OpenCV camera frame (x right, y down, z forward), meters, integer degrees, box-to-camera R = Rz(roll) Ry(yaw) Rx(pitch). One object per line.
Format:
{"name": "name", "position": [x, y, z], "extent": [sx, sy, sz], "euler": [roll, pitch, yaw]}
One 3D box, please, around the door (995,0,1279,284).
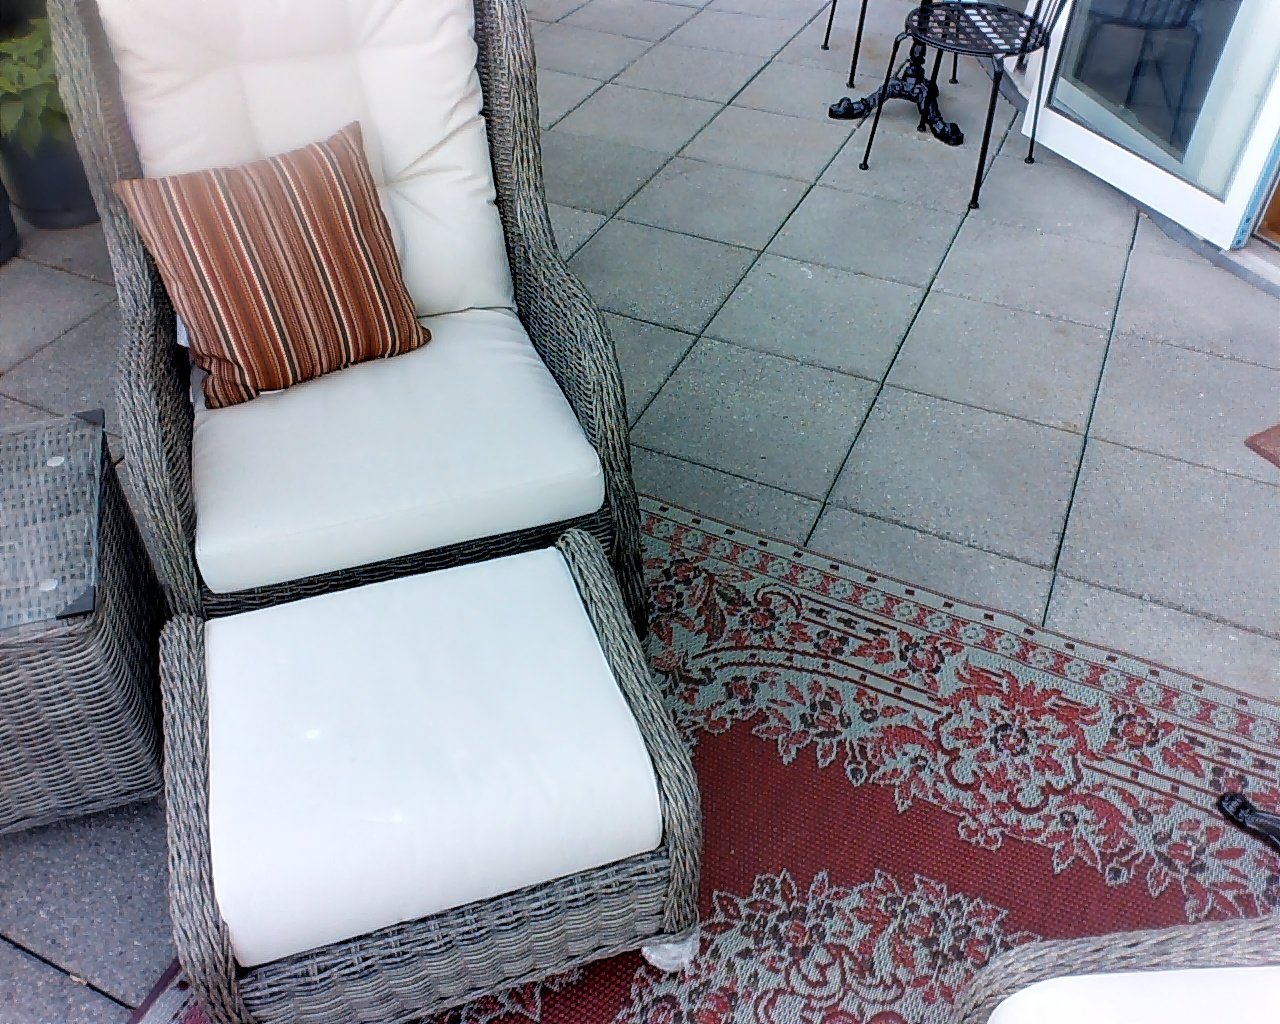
{"name": "door", "position": [1.450, -1.700, 2.480], "extent": [0.180, 2.130, 0.900], "euler": [-18, 46, -20]}
